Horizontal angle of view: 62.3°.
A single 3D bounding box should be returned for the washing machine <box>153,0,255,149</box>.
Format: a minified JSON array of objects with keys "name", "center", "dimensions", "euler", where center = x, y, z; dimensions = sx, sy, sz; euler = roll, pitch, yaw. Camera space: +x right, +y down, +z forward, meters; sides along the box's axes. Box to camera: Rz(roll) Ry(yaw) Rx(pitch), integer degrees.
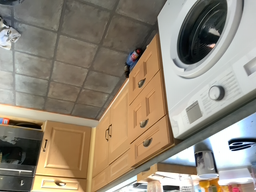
[{"name":"washing machine","center":[0.580,-0.290,0.980],"dimensions":[0.640,0.890,0.570],"euler":[12,145,-21]}]
